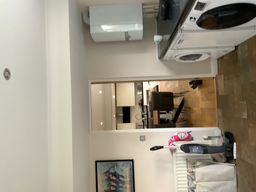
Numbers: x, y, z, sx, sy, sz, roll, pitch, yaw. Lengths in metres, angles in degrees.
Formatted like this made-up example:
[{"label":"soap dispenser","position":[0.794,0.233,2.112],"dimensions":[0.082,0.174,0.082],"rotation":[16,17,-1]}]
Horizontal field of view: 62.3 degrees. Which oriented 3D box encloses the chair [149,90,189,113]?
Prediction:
[{"label":"chair","position":[1.000,0.150,5.310],"dimensions":[0.530,0.890,0.480],"rotation":[81,-173,-80]}]
